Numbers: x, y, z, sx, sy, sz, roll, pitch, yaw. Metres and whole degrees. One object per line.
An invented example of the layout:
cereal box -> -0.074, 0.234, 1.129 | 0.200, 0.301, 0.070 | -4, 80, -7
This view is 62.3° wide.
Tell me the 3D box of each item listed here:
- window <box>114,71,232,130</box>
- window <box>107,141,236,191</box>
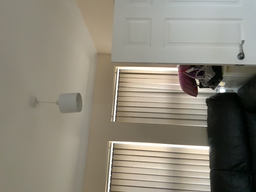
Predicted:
window -> 0.620, 0.040, 3.020 | 0.050, 1.560, 0.790 | 81, -167, -68
window -> 0.540, 1.080, 2.690 | 0.040, 1.580, 0.890 | 80, -166, -71
